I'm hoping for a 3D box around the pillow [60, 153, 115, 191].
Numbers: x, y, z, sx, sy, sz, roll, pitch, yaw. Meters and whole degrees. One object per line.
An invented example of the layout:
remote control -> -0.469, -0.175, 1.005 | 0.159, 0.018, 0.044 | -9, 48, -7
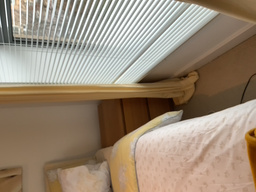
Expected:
pillow -> -0.270, 0.740, 1.480 | 0.220, 0.310, 0.600 | -45, 52, 55
